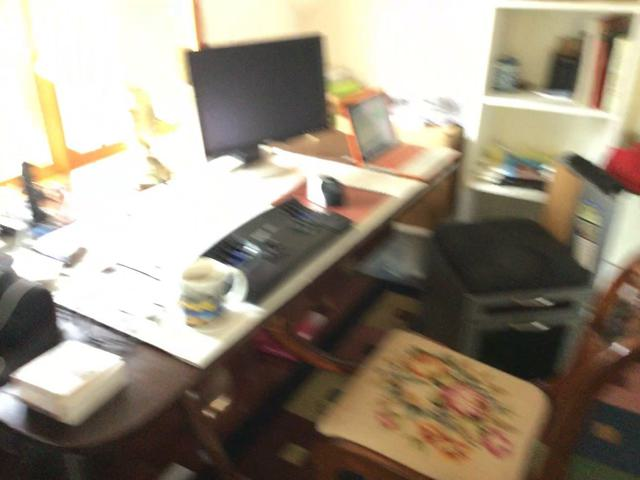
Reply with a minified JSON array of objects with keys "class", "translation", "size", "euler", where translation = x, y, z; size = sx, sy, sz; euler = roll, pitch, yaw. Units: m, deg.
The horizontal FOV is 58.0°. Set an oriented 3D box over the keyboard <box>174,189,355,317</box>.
[{"class":"keyboard","translation":[-0.110,0.010,1.340],"size":[0.210,0.060,0.420],"euler":[17,34,26]}]
